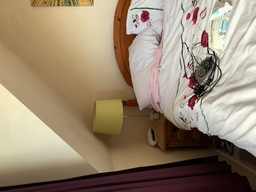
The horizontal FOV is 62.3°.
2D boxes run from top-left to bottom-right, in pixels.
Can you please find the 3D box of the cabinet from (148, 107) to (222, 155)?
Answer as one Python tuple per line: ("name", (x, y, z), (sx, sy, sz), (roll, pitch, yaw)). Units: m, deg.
("cabinet", (0.550, 0.330, 2.160), (0.450, 0.590, 0.370), (-160, 70, -80))
